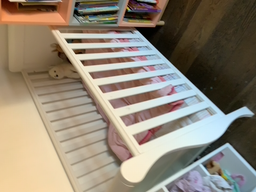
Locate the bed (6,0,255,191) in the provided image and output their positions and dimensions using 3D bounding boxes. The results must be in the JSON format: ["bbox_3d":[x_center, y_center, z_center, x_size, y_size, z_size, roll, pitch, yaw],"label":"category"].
[{"bbox_3d":[-0.110,-0.040,1.560,1.460,1.070,0.750,53,136,29],"label":"bed"}]
